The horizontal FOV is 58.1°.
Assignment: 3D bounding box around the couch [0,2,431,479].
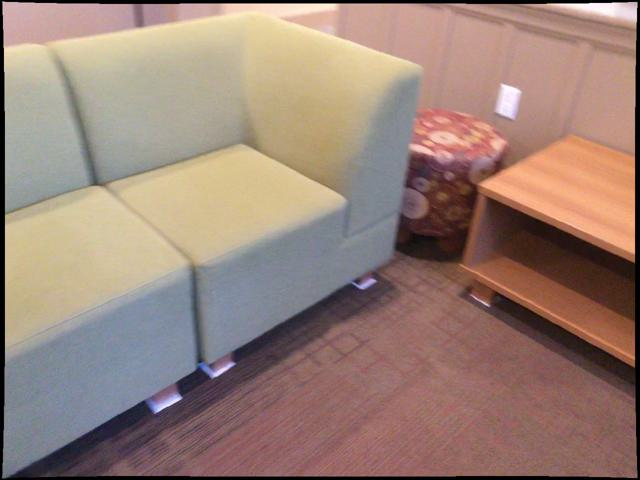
[{"bbox_3d":[-0.569,-0.060,1.620,1.638,0.791,0.789,-27,45,-35],"label":"couch"}]
